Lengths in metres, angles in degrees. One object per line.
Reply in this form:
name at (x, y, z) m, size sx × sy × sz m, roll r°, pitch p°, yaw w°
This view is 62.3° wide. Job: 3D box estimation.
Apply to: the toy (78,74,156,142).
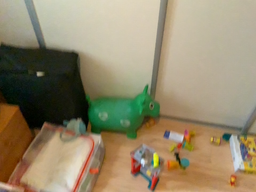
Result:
toy at (-0.070, 0.100, 1.680) m, size 0.520 × 0.420 × 0.260 m, roll 8°, pitch 46°, yaw 7°
